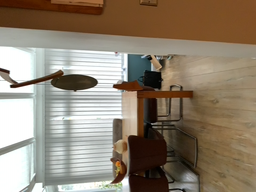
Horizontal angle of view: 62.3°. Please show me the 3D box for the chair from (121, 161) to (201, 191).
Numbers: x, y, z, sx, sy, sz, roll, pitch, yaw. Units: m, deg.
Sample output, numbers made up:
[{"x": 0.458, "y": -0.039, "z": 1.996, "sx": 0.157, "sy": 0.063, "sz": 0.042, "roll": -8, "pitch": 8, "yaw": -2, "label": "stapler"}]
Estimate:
[{"x": 0.390, "y": 1.140, "z": 2.710, "sx": 0.540, "sy": 0.870, "sz": 0.410, "roll": 178, "pitch": 92, "yaw": -76, "label": "chair"}]

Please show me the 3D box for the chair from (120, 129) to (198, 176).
[{"x": 0.380, "y": 0.700, "z": 2.780, "sx": 0.540, "sy": 0.870, "sz": 0.420, "roll": 178, "pitch": 92, "yaw": -76, "label": "chair"}]
